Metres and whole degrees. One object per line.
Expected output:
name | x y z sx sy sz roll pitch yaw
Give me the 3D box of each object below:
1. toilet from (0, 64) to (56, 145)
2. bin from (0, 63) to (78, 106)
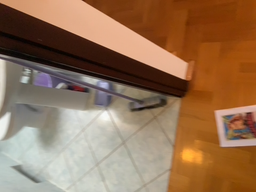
toilet | -1.180 0.070 2.050 0.400 0.710 0.700 11 91 36
bin | -0.800 -0.090 1.910 0.340 0.570 0.280 9 89 36
